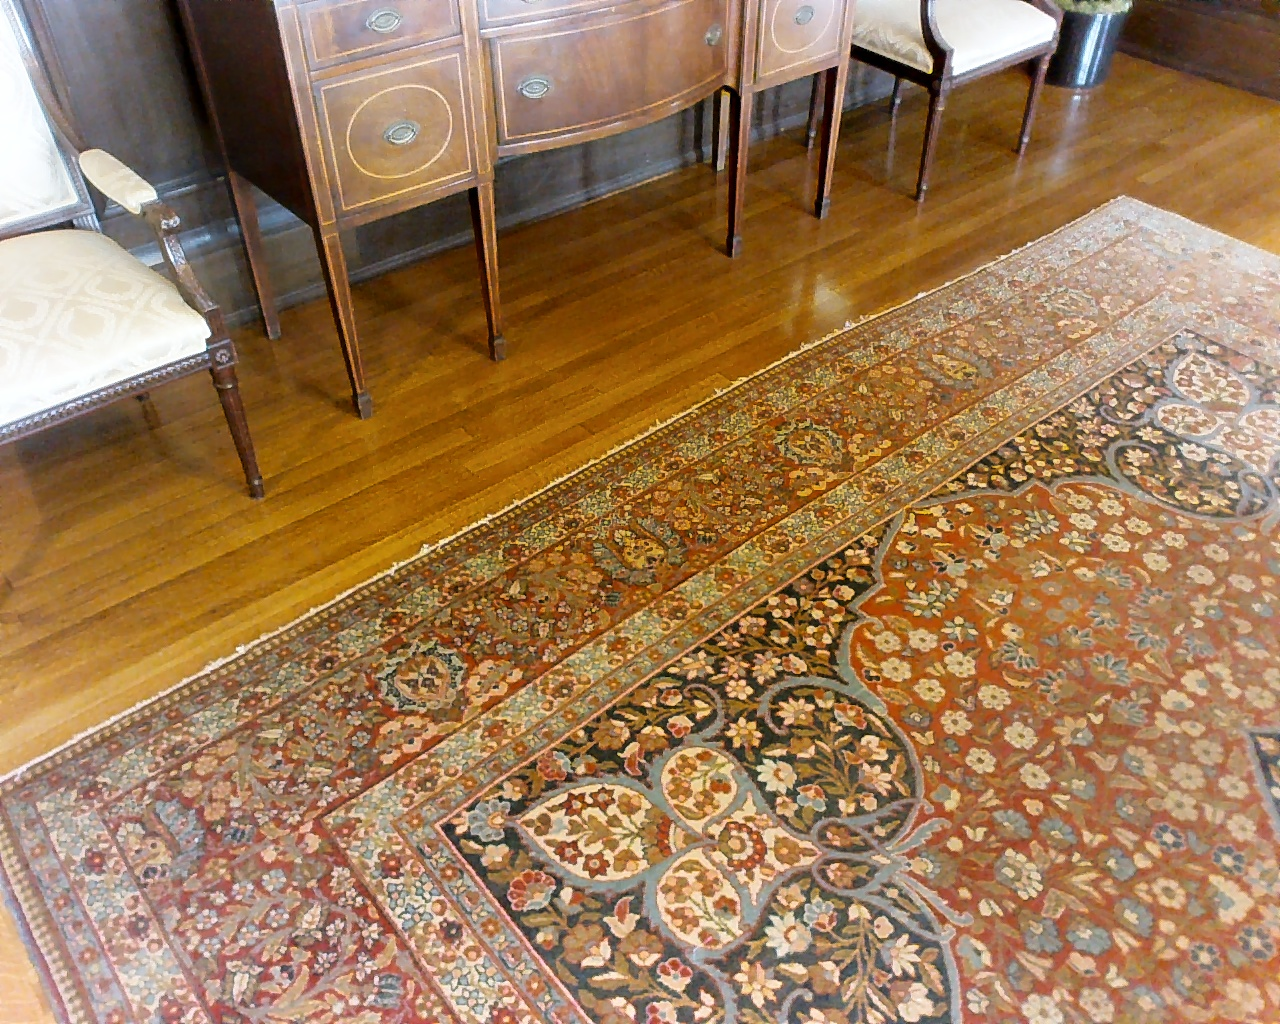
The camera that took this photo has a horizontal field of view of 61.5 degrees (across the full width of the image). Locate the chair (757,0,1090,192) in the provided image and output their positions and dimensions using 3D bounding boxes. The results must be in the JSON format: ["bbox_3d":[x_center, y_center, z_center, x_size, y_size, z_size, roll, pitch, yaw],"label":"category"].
[{"bbox_3d":[0.960,-1.780,3.540,0.710,1.040,0.790,-32,51,-31],"label":"chair"}]
